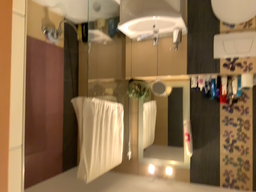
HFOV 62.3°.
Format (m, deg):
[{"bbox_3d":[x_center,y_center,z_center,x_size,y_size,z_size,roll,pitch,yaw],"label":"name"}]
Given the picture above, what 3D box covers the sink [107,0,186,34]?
[{"bbox_3d":[0.160,-0.630,1.640,0.510,0.130,0.400,0,178,21],"label":"sink"}]
